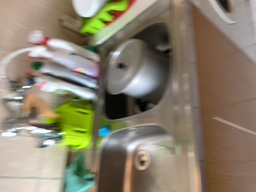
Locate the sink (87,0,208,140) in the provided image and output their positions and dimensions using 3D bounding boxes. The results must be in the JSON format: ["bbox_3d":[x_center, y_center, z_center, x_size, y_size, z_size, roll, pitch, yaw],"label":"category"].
[{"bbox_3d":[0.050,-0.060,0.840,0.410,0.200,0.390,-21,60,44],"label":"sink"}]

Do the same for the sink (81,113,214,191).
[{"bbox_3d":[0.040,0.300,0.700,0.410,0.200,0.380,-21,60,44],"label":"sink"}]

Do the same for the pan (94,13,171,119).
[{"bbox_3d":[0.010,-0.100,0.830,0.250,0.150,0.310,-22,59,44],"label":"pan"}]
